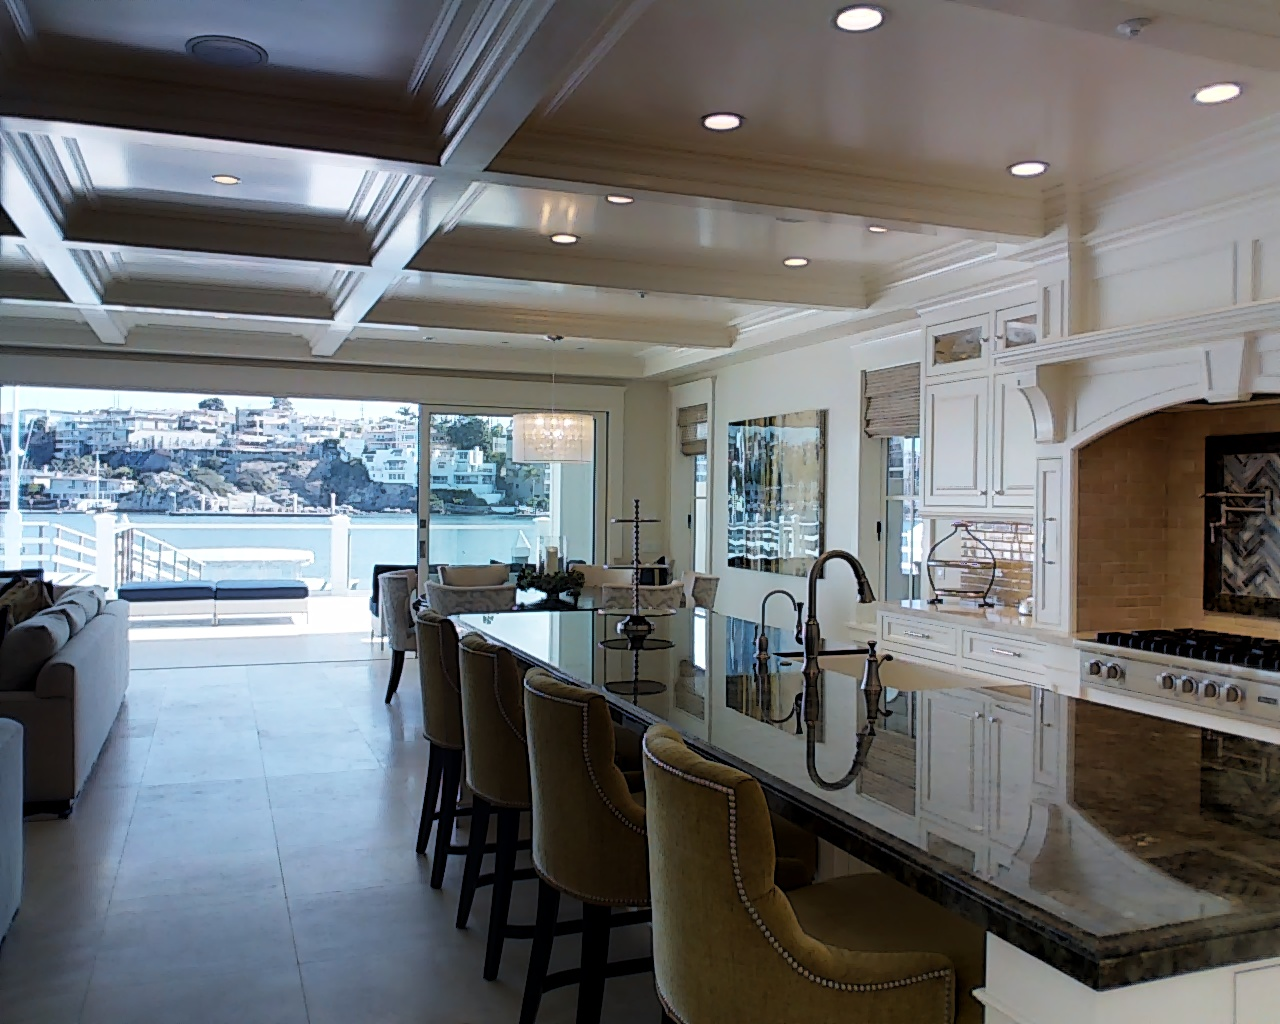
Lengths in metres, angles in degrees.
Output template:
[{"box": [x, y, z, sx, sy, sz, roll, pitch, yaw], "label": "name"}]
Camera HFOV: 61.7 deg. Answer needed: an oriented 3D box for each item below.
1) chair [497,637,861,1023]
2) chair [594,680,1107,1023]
[{"box": [0.070, 0.920, 2.830, 0.740, 1.070, 0.690, 0, 0, -21], "label": "chair"}, {"box": [0.360, 0.930, 2.070, 0.720, 1.070, 0.670, 0, 0, -21], "label": "chair"}]
